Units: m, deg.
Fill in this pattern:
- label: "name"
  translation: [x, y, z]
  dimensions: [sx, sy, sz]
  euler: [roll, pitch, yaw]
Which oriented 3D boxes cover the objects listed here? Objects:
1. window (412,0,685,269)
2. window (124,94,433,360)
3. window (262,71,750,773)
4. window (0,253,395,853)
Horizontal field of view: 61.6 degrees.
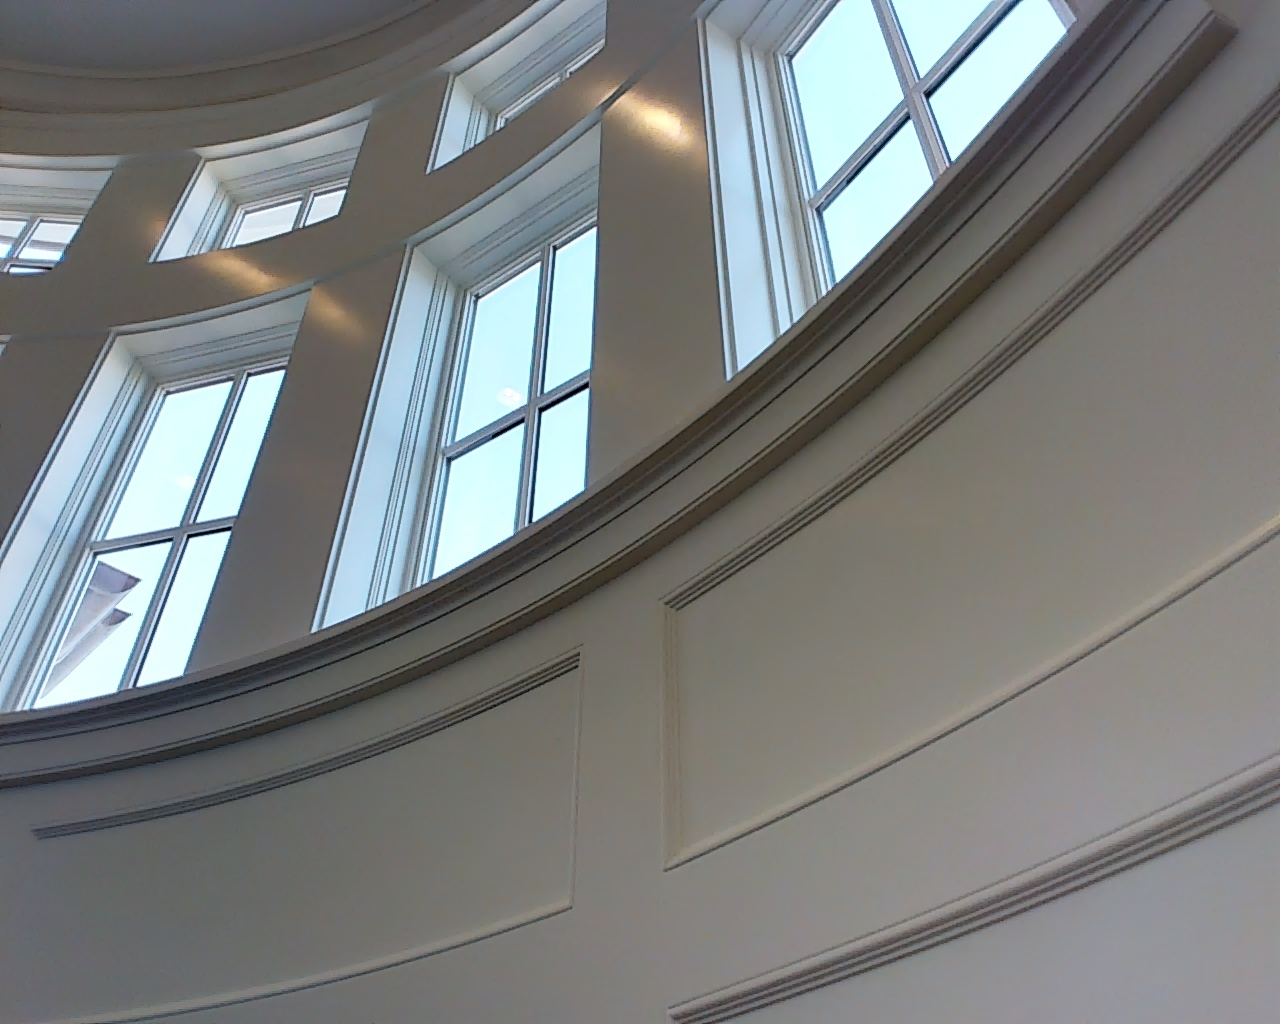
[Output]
- label: "window"
  translation: [-0.230, -1.091, 2.860]
  dimensions: [0.620, 0.650, 0.300]
  euler: [-26, -48, 25]
- label: "window"
  translation: [-1.019, -0.841, 3.150]
  dimensions: [0.650, 0.640, 0.350]
  euler: [-9, -43, 9]
- label: "window"
  translation: [-0.210, -0.230, 2.120]
  dimensions: [0.630, 1.260, 0.440]
  euler: [-24, -48, 24]
- label: "window"
  translation: [-1.019, 0.030, 2.360]
  dimensions: [0.650, 1.250, 0.410]
  euler: [-10, -43, 11]
